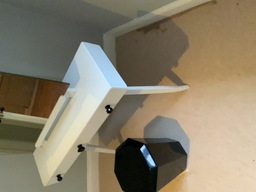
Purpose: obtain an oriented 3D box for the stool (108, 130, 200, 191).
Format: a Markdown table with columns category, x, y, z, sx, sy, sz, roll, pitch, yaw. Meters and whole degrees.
| category | x | y | z | sx | sy | sz | roll | pitch | yaw |
| --- | --- | --- | --- | --- | --- | --- | --- | --- | --- |
| stool | 0.170 | 0.450 | 1.380 | 0.290 | 0.440 | 0.290 | -54 | 55 | 30 |
